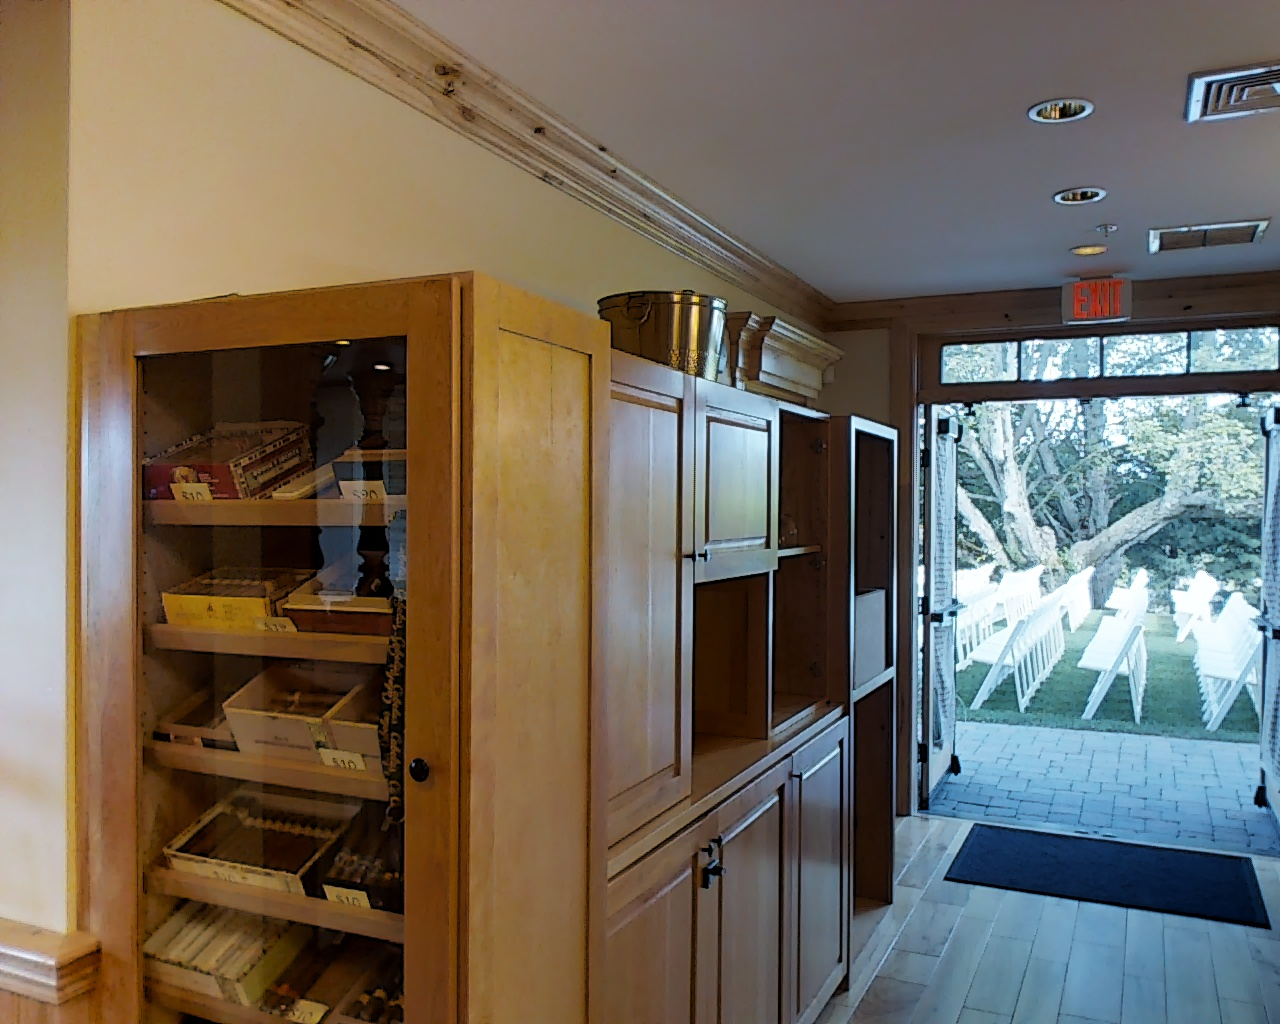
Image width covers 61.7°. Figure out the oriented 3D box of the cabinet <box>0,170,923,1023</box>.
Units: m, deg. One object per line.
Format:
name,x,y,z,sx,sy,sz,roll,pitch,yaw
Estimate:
cabinet,0.020,0.570,2.980,0.920,1.990,3.210,0,0,25
